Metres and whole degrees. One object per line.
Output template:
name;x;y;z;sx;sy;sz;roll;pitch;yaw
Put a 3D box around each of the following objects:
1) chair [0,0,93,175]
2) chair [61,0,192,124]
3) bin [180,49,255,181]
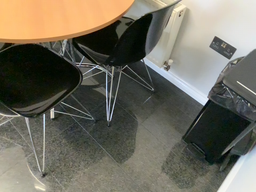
chair;-0.520;-0.070;1.050;0.460;0.810;0.470;37;57;20
chair;-0.050;-0.320;1.310;0.440;0.810;0.500;-36;65;-30
bin;0.610;0.130;1.170;0.310;0.570;0.400;37;57;18
